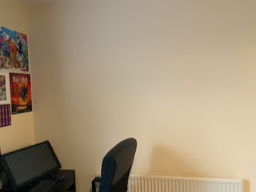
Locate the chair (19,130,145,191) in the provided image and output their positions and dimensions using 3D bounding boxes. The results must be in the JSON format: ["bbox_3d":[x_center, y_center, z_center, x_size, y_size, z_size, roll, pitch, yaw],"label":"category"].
[{"bbox_3d":[-0.330,0.950,1.830,0.800,1.170,0.670,-1,2,21],"label":"chair"}]
